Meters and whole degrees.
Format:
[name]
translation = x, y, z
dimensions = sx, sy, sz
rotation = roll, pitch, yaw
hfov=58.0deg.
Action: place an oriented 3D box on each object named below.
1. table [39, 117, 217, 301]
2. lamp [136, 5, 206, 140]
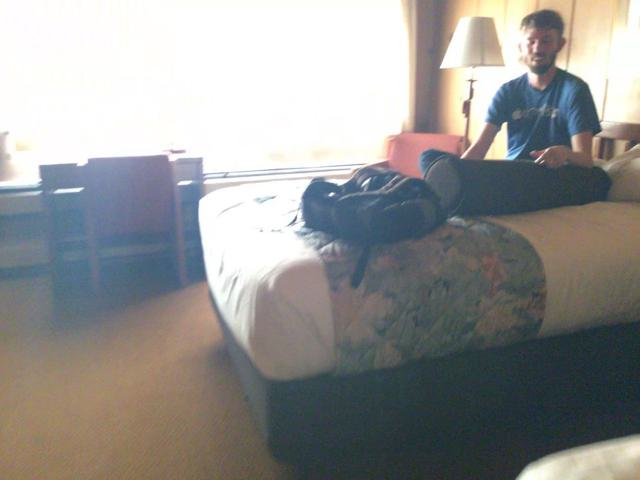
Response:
[table]
translation = -1.090, -0.220, 3.420
dimensions = 0.810, 0.900, 0.560
rotation = -7, 18, -15
[lamp]
translation = -0.850, -0.950, 3.300
dimensions = 0.290, 0.690, 0.340
rotation = -7, 18, -15
